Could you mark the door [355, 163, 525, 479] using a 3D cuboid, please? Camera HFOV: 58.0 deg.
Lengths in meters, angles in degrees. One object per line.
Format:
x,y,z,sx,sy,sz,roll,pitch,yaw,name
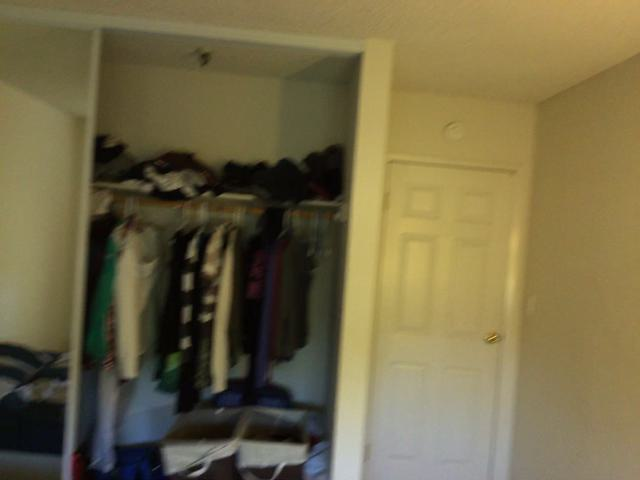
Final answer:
0.690,0.580,3.370,0.790,1.970,0.110,6,-2,-1,door
